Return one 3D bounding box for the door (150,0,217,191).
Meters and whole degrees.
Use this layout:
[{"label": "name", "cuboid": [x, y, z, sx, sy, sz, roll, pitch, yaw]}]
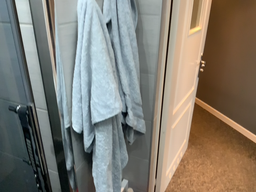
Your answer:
[{"label": "door", "cuboid": [0.480, -0.250, 1.680, 0.060, 1.990, 0.980, 16, 30, 28]}]
